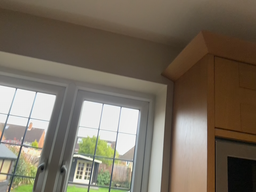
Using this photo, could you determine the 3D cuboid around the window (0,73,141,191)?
[{"bbox_3d":[-0.400,0.370,1.160,0.880,0.900,0.030,11,-19,-10],"label":"window"}]
